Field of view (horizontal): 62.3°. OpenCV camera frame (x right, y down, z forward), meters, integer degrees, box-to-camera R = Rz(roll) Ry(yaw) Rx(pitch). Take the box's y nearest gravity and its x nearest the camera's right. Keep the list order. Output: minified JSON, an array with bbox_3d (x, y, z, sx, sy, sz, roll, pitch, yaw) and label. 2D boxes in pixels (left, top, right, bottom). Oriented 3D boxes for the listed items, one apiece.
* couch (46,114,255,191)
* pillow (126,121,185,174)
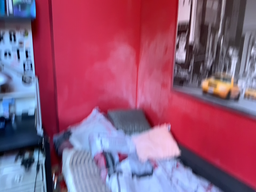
[{"bbox_3d":[0.080,0.790,1.570,2.020,1.010,0.620,26,-62,59],"label":"couch"},{"bbox_3d":[0.230,0.450,1.960,0.120,0.350,0.480,48,-13,-20],"label":"pillow"}]
